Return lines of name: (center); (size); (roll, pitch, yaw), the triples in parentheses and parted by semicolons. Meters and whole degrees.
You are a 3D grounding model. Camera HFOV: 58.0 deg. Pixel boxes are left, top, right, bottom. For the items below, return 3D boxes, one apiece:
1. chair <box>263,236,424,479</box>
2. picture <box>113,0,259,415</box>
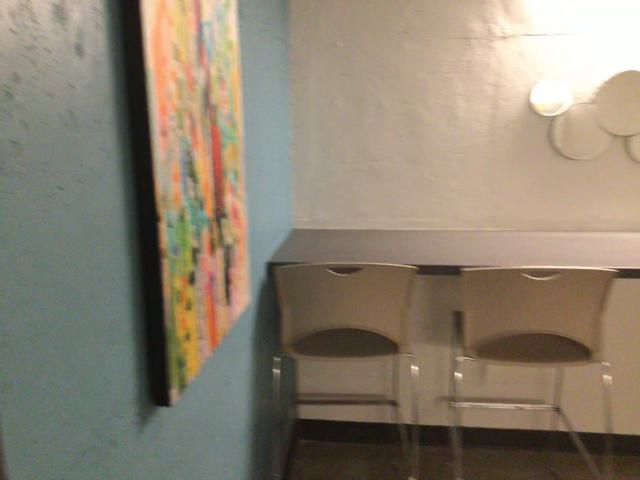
chair: (0.110, 0.510, 2.200); (0.520, 0.970, 0.490); (0, 11, 6)
picture: (-0.250, -0.160, 1.260); (0.060, 0.830, 0.640); (0, 11, 6)
